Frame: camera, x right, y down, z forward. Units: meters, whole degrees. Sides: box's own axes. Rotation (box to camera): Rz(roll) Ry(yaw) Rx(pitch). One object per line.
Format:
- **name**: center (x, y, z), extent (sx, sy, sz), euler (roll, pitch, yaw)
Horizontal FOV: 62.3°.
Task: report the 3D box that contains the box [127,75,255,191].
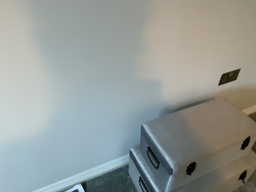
- **box**: center (0.410, 0.270, 1.140), extent (0.710, 0.470, 0.410), euler (-17, 43, -21)
